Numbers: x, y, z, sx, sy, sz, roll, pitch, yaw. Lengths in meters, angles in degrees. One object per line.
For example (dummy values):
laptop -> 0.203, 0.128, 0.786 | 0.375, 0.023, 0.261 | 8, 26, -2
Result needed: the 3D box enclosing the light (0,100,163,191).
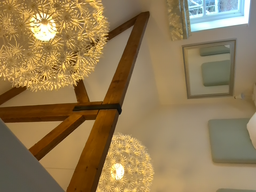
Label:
light -> -0.690, 1.010, 2.910 | 1.970, 1.030, 1.060 | -18, 27, -12
